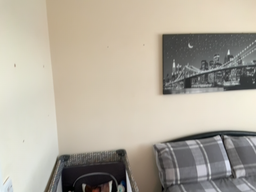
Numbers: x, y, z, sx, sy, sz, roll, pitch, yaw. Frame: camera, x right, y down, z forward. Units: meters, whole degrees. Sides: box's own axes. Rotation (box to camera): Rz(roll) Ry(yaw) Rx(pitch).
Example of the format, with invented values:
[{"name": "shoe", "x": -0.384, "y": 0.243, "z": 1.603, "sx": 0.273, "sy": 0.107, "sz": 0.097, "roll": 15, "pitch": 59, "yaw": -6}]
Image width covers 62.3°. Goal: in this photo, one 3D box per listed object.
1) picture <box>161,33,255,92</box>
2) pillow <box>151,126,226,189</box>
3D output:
[{"name": "picture", "x": 0.920, "y": -0.360, "z": 2.230, "sx": 1.160, "sy": 0.580, "sz": 0.030, "roll": -3, "pitch": 9, "yaw": -8}, {"name": "pillow", "x": 0.610, "y": 0.620, "z": 2.090, "sx": 0.670, "sy": 0.440, "sz": 0.110, "roll": -26, "pitch": 36, "yaw": 0}]
